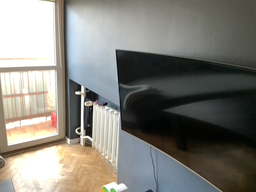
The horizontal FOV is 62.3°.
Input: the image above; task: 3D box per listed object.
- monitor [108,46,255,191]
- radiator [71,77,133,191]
[{"bbox_3d":[0.280,0.110,1.180,0.090,0.640,1.110,-1,17,-40],"label":"monitor"},{"bbox_3d":[-0.380,0.370,2.490,0.170,0.970,1.130,-7,20,-35],"label":"radiator"}]
